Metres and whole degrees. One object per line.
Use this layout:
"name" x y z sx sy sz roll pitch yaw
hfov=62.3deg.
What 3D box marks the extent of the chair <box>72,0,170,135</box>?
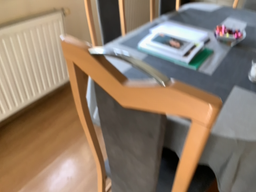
"chair" -0.050 -0.290 1.540 0.440 1.030 0.410 25 43 25
